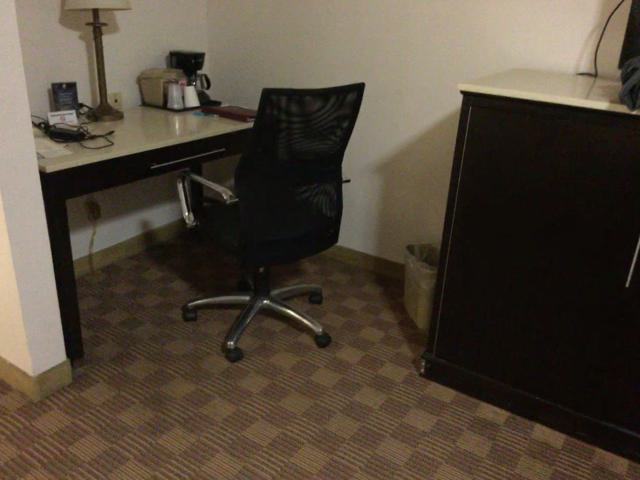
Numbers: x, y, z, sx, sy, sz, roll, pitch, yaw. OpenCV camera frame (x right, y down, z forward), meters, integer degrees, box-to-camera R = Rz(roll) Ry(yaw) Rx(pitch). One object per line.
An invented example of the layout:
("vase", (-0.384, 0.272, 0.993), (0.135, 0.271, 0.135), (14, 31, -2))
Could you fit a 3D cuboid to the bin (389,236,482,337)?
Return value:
("bin", (0.490, 0.190, 2.530), (0.270, 0.300, 0.370), (-3, 19, -9))
